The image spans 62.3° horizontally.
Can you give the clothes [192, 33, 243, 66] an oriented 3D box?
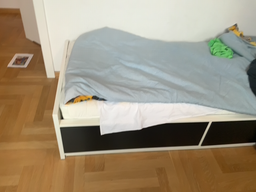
[{"bbox_3d":[0.810,-0.440,1.970,0.270,0.090,0.430,0,41,-9],"label":"clothes"}]
